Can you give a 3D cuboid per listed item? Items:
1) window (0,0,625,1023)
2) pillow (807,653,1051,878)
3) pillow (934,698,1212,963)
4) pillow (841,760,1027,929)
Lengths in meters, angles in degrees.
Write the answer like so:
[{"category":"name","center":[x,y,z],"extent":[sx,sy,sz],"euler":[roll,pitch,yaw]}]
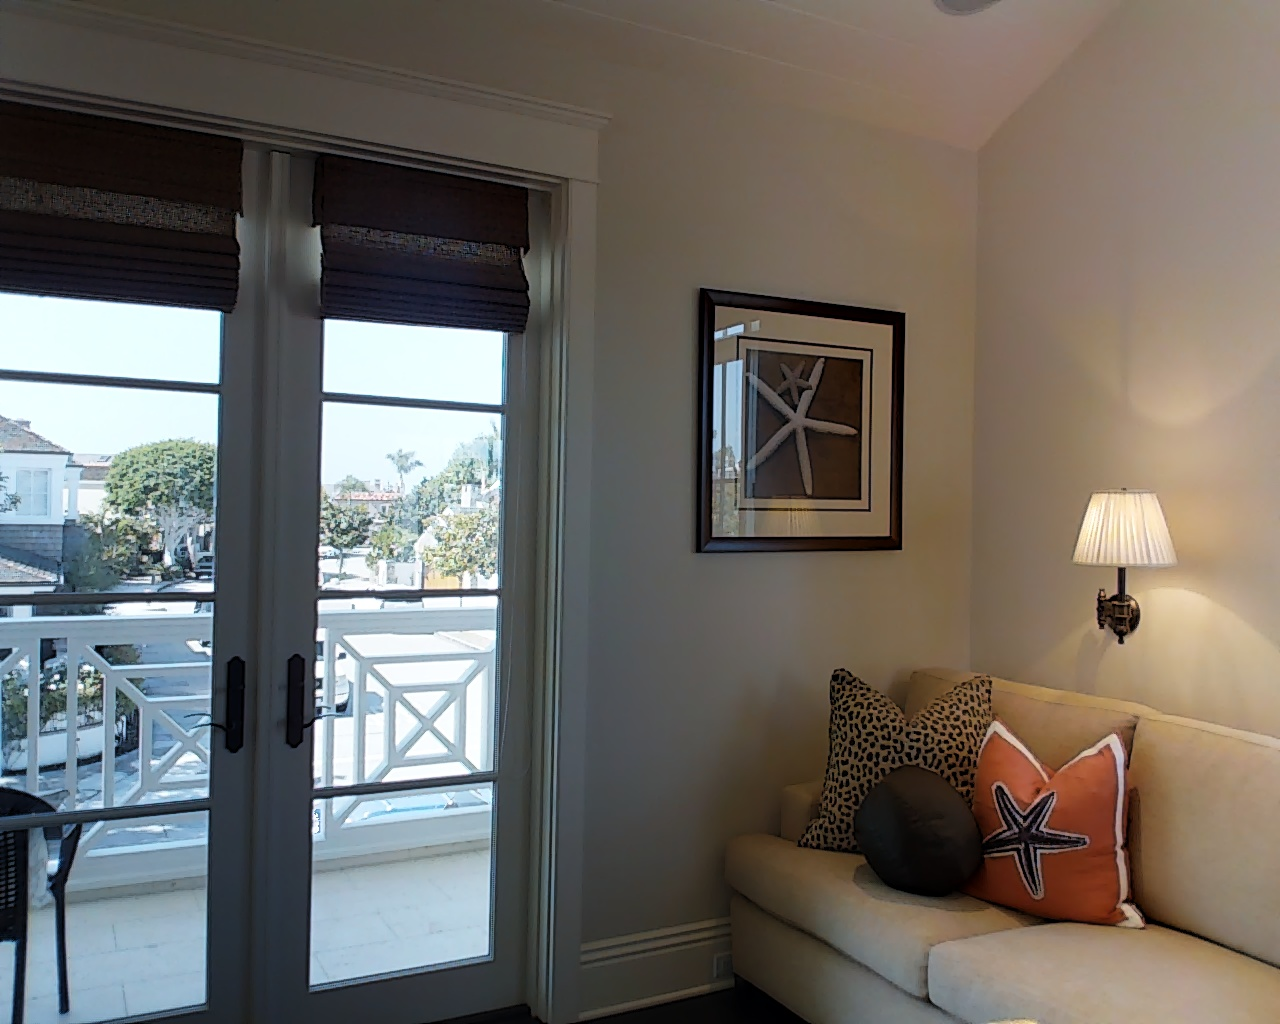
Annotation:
[{"category":"window","center":[-0.910,0.150,2.850],"extent":[1.759,2.681,0.300],"euler":[1,-1,-28]},{"category":"pillow","center":[0.840,0.730,3.200],"extent":[0.660,0.550,0.390],"euler":[1,-1,10]},{"category":"pillow","center":[1.140,0.810,2.830],"extent":[0.530,0.550,0.300],"euler":[-8,9,41]},{"category":"pillow","center":[0.790,0.870,2.870],"extent":[0.370,0.300,0.350],"euler":[0,-1,38]}]
